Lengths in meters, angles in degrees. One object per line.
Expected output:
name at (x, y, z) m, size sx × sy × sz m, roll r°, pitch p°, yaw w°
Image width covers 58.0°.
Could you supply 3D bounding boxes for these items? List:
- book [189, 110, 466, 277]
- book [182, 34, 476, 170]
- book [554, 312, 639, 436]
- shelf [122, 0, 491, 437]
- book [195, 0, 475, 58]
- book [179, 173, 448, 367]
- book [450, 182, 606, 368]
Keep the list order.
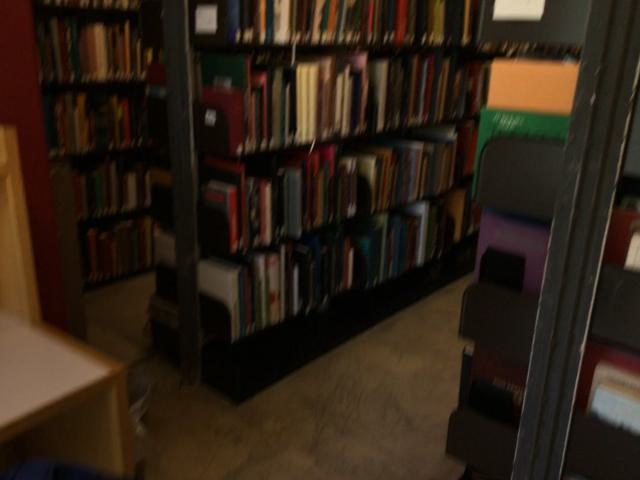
book at (0.150, -0.310, 2.780) m, size 0.310 × 0.470 × 1.630 m, roll 17°, pitch 24°, yaw 38°
book at (0.150, -0.700, 2.690) m, size 0.390 × 0.460 × 1.590 m, roll 17°, pitch 24°, yaw 38°
book at (0.740, 0.330, 1.420) m, size 0.250 × 0.210 × 0.130 m, roll 17°, pitch 24°, yaw 38°
shelf at (0.070, -0.380, 2.770) m, size 0.580 × 1.860 × 1.760 m, roll 17°, pitch 24°, yaw 38°
book at (0.170, -1.000, 2.470) m, size 0.290 × 0.400 × 1.510 m, roll 17°, pitch 24°, yaw 38°
book at (0.060, 0.050, 2.830) m, size 0.390 × 0.480 × 1.480 m, roll 17°, pitch 24°, yaw 38°
book at (0.550, 0.080, 1.560) m, size 0.300 × 0.400 × 0.190 m, roll 17°, pitch 24°, yaw 38°
